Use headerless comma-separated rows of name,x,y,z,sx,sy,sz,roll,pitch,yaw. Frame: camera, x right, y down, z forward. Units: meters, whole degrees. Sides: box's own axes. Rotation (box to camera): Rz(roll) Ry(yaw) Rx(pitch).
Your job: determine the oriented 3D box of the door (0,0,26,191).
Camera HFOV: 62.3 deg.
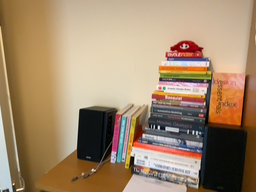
door,-0.650,0.270,1.190,0.060,2.130,0.720,-7,16,-27
